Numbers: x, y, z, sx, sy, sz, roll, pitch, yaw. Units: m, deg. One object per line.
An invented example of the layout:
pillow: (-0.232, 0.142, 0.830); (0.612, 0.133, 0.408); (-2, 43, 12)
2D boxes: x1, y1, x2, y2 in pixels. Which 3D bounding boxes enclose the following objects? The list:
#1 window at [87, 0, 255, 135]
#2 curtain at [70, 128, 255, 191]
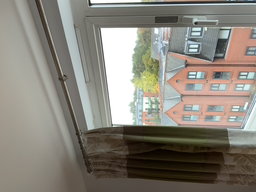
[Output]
window: (0.430, -0.140, 1.450); (0.100, 1.250, 1.140); (-84, -6, -47)
curtain: (0.750, 0.480, 1.470); (0.080, 2.210, 0.590); (-84, -6, -49)
